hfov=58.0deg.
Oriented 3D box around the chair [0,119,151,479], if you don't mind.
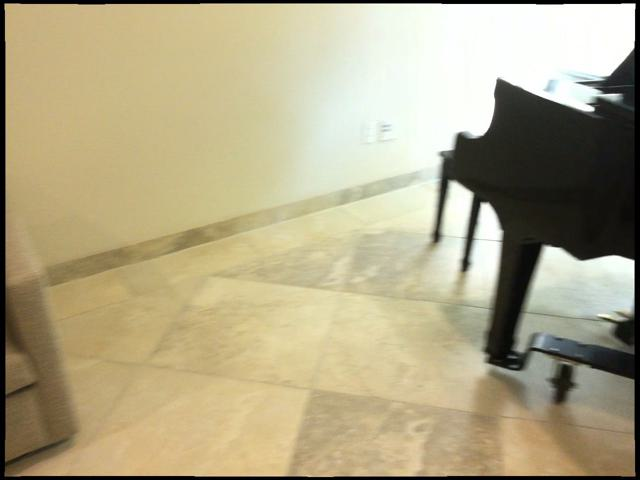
[{"bbox_3d":[-1.287,0.240,1.710,1.109,0.761,1.090,-19,34,-31],"label":"chair"}]
